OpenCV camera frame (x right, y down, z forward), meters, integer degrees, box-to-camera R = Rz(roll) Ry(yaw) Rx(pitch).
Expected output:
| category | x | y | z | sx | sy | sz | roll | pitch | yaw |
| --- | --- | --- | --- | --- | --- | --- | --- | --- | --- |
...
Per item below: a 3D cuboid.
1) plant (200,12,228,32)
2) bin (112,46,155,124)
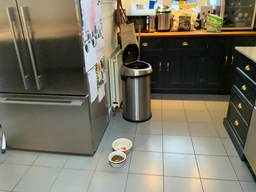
| category | x | y | z | sx | sy | sz | roll | pitch | yaw |
| --- | --- | --- | --- | --- | --- | --- | --- | --- | --- |
| plant | 1.240 | -1.080 | 3.090 | 0.280 | 0.240 | 0.280 | 1 | 25 | 6 |
| bin | 0.090 | -0.140 | 2.600 | 0.440 | 0.860 | 0.380 | 2 | 25 | 9 |
